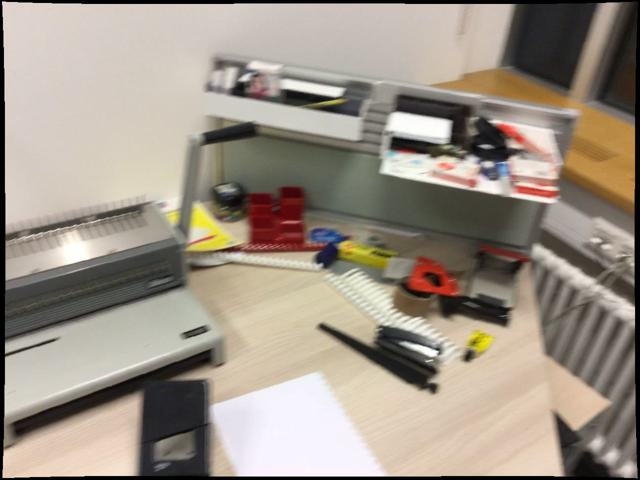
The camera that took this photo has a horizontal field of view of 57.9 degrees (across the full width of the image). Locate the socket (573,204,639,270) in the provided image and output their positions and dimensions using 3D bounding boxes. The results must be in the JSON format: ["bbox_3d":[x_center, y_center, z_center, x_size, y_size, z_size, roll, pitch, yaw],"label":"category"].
[{"bbox_3d":[0.709,-0.010,1.410,0.040,0.090,0.150,-20,43,-31],"label":"socket"}]
